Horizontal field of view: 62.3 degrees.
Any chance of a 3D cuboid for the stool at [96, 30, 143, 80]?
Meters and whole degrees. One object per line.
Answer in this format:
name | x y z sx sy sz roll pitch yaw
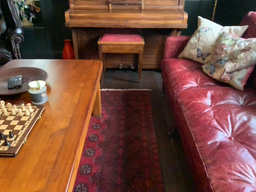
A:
stool | -0.100 -0.510 2.630 0.520 0.520 0.360 0 30 -1
